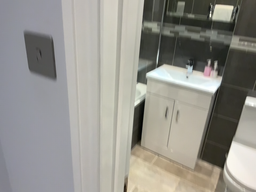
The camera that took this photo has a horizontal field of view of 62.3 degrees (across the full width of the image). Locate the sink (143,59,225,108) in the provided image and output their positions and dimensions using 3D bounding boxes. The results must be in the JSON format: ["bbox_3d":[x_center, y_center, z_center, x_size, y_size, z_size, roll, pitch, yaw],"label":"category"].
[{"bbox_3d":[0.540,-0.150,2.060,0.650,0.200,0.420,17,29,26],"label":"sink"}]
